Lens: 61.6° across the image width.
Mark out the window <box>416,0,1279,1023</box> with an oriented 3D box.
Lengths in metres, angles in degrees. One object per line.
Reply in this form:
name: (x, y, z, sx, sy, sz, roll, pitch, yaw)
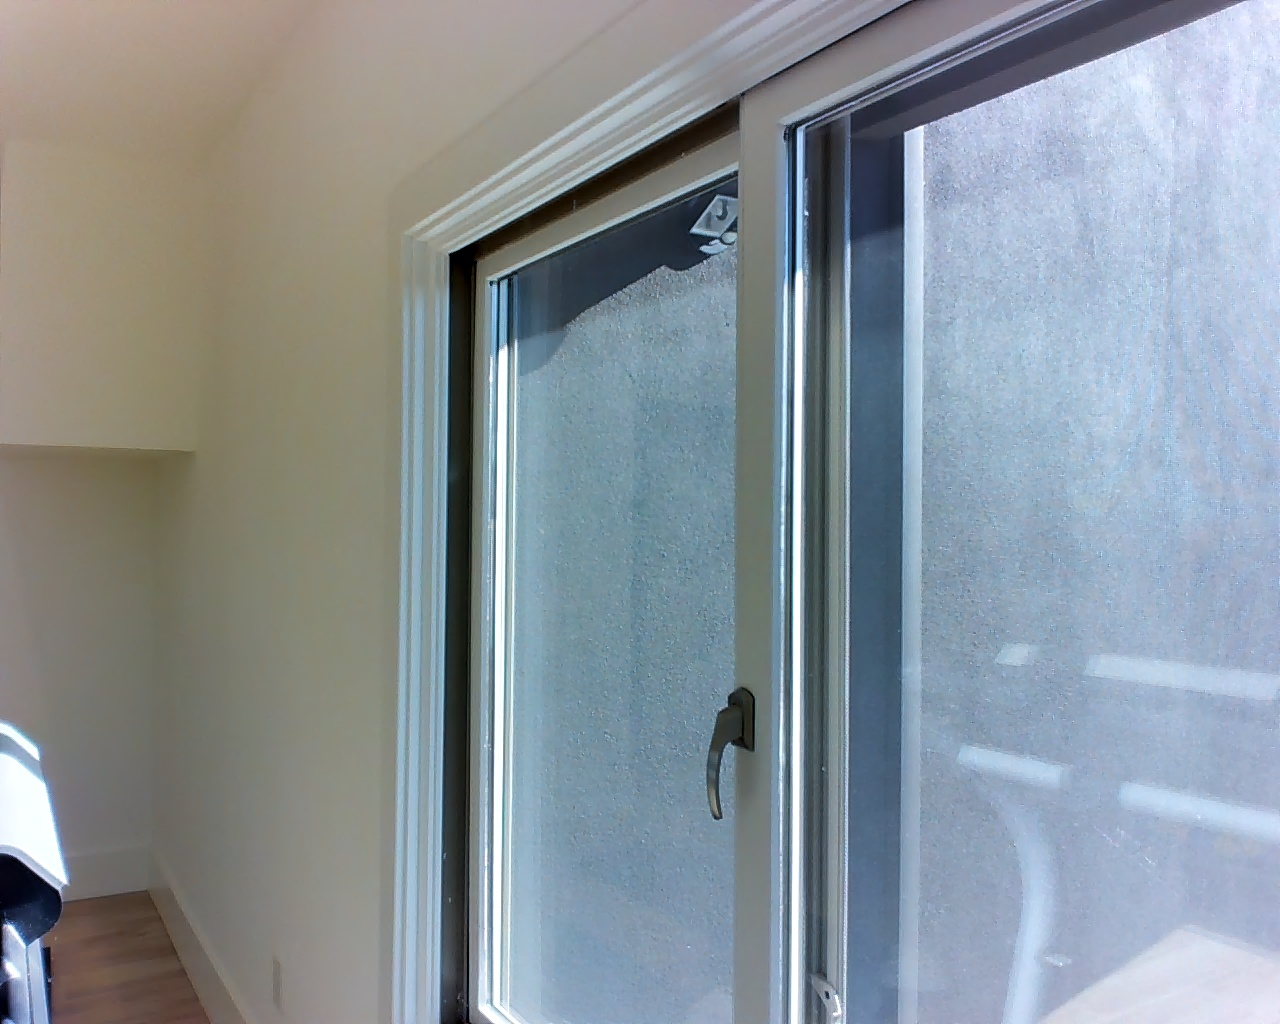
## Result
window: (0.150, 0.230, 1.200, 0.130, 1.610, 1.940, 1, -1, -31)
